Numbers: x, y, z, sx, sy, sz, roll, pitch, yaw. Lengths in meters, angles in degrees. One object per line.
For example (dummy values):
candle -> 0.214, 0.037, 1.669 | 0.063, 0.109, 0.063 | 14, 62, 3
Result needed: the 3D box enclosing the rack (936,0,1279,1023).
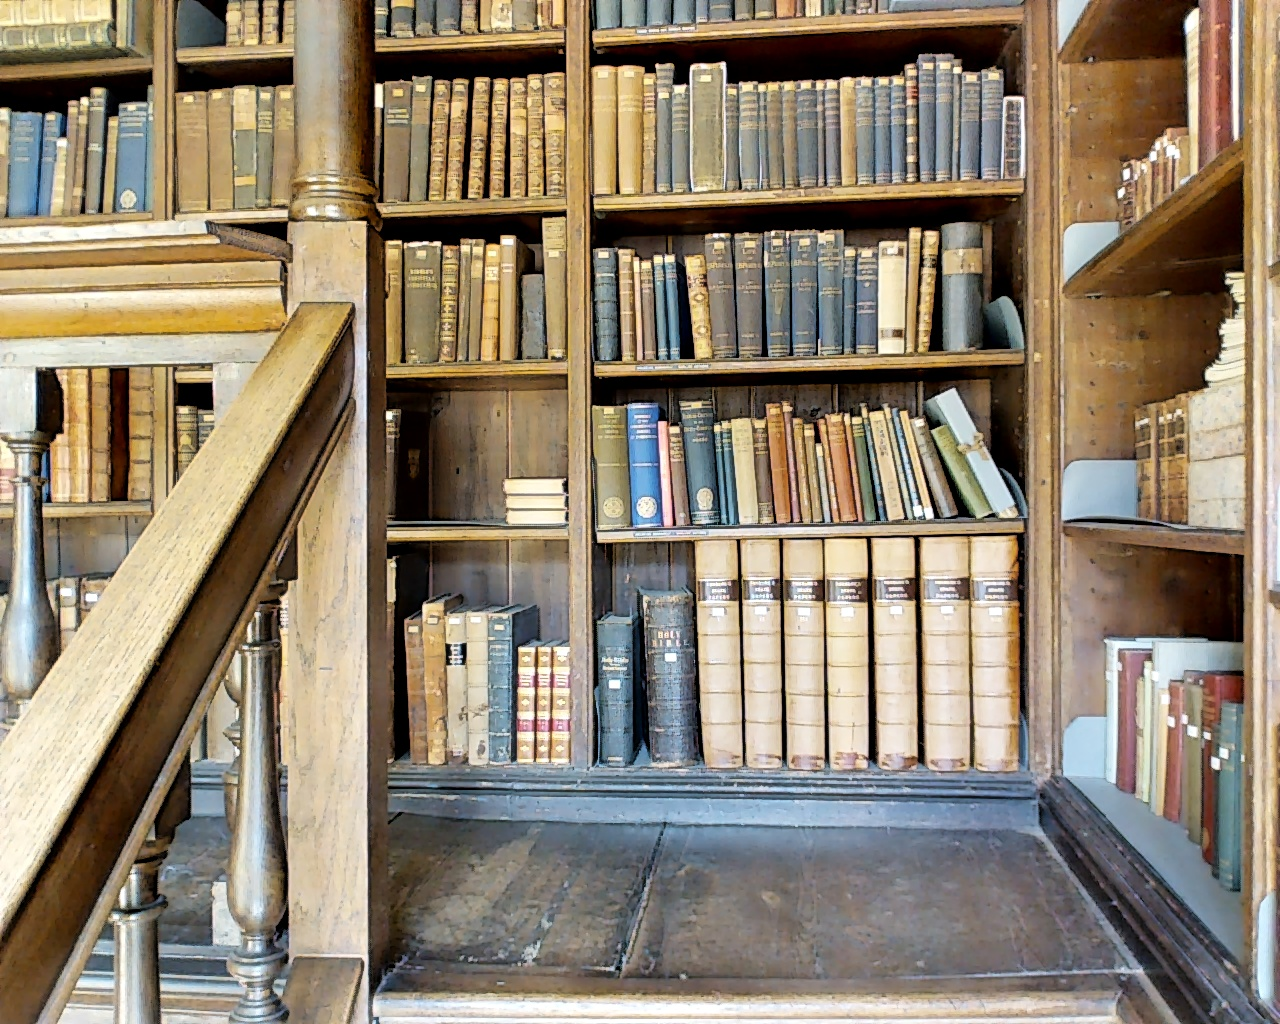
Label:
rack -> 0.640, -0.440, 1.490 | 0.320, 2.181, 0.780 | 0, 0, 7
